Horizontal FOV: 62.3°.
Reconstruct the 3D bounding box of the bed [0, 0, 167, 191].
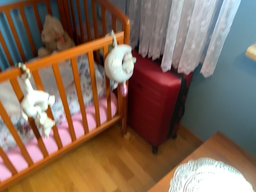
[{"bbox_3d":[-0.650,0.020,1.240,1.560,0.950,0.720,-28,52,-28],"label":"bed"}]
